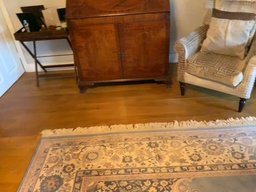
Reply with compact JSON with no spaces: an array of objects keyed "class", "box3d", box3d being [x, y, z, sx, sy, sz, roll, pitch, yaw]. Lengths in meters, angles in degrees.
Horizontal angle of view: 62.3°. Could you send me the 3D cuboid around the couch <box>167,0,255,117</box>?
[{"class":"couch","box3d":[0.970,-0.530,2.170,0.720,0.950,0.940,21,43,32]}]
